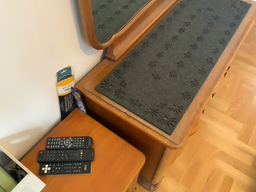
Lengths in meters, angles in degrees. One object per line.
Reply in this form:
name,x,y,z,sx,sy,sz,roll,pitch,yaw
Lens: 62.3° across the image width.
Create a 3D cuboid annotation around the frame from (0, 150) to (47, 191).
frame,-0.400,0.310,0.630,0.070,0.150,0.270,33,59,29
